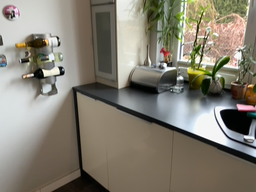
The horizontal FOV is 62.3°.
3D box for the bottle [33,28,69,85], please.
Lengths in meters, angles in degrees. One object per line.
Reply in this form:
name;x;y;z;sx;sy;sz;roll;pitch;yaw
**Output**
bottle;-0.570;-0.300;1.580;0.180;0.390;0.110;-17;26;-41
